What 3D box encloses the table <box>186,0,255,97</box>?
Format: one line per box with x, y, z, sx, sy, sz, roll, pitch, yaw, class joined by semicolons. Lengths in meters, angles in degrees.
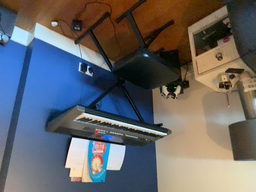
0.810;-0.360;1.630;0.520;0.530;0.430;19;151;-37;table
